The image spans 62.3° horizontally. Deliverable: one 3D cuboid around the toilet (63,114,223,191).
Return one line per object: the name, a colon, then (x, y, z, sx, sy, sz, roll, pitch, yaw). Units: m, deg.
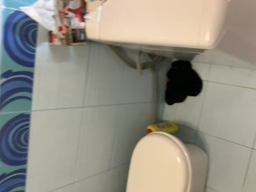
toilet: (0.120, 0.520, 1.160, 0.360, 0.860, 0.700, 16, 101, 40)
